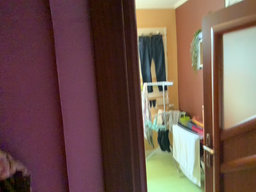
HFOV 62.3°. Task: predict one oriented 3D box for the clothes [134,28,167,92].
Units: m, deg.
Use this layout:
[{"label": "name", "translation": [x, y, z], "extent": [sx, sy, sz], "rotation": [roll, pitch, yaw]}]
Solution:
[{"label": "clothes", "translation": [0.430, -0.680, 4.030], "extent": [0.580, 1.160, 0.100], "rotation": [-6, 8, -16]}]
